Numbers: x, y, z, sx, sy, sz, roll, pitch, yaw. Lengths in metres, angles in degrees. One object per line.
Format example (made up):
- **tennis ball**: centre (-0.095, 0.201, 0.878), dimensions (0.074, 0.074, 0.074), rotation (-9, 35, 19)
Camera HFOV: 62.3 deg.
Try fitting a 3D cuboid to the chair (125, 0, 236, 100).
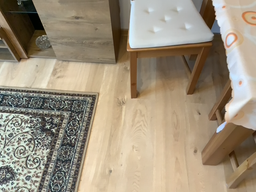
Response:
- **chair**: centre (0.210, -0.470, 1.170), dimensions (0.440, 1.000, 0.500), rotation (-3, 56, -1)
